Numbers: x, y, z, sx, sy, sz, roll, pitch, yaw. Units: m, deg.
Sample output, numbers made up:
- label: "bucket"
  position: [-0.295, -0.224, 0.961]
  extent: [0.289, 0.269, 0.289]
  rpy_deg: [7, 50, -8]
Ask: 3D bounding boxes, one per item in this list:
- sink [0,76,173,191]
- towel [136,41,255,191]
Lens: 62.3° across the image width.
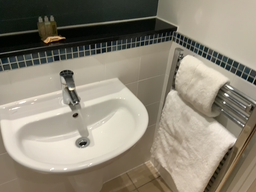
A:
- label: "sink"
  position: [-0.180, 0.150, 0.860]
  extent: [0.550, 0.180, 0.410]
  rpy_deg: [-17, 41, -26]
- label: "towel"
  position: [0.280, 0.180, 1.110]
  extent: [0.200, 0.780, 0.460]
  rpy_deg: [-16, 41, -26]
